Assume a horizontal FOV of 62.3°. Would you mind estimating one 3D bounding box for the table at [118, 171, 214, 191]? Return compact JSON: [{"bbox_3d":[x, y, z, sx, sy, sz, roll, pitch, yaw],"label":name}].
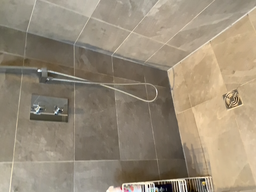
[{"bbox_3d":[0.260,0.650,1.280,0.190,0.610,0.320,-35,54,49],"label":"table"}]
